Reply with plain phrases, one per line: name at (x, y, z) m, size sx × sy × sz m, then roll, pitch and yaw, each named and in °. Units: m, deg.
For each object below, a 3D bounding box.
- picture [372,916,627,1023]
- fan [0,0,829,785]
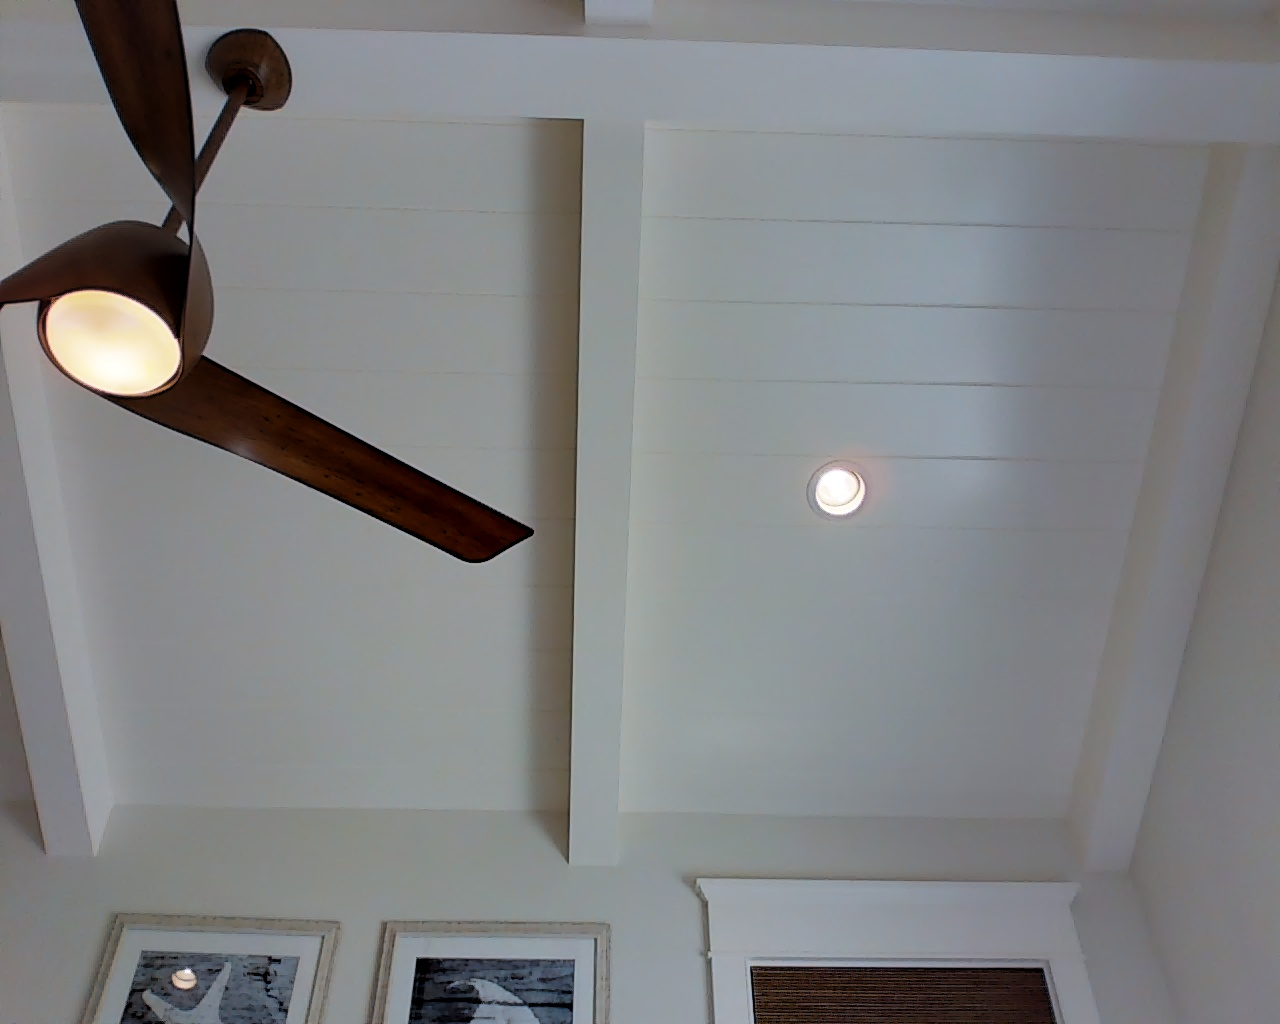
picture at (-0.340, 1.271, 2.570) m, size 0.610 × 0.590 × 0.030 m, roll 2°, pitch -43°, yaw -1°
fan at (-0.630, -0.400, 1.830) m, size 1.220 × 0.910 × 1.360 m, roll -33°, pitch -52°, yaw 30°
